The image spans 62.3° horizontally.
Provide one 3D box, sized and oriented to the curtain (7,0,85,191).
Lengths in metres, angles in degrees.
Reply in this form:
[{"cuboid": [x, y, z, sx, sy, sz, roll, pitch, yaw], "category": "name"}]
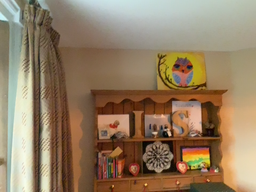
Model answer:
[{"cuboid": [-0.430, 0.700, 1.260, 0.250, 2.310, 0.680, 0, -3, -5], "category": "curtain"}]
